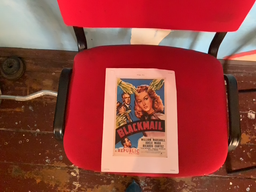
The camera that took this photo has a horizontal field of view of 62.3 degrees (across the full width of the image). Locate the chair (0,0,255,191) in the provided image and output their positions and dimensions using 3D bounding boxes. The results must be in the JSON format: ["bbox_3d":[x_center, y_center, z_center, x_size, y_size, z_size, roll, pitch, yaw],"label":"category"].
[{"bbox_3d":[0.050,-0.010,0.680,0.510,0.830,0.540,3,77,1],"label":"chair"}]
